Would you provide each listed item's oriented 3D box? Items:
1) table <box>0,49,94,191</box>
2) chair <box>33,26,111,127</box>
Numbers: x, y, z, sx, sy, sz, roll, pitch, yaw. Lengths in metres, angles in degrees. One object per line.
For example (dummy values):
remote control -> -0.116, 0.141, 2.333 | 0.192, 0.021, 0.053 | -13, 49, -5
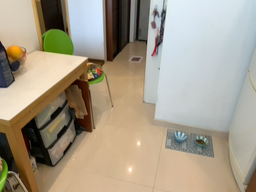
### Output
table -> -0.700, 0.170, 1.630 | 0.510, 0.740, 0.920 | 10, 32, 12
chair -> -0.520, -0.210, 2.180 | 0.550, 0.850, 0.440 | 13, 32, 17
